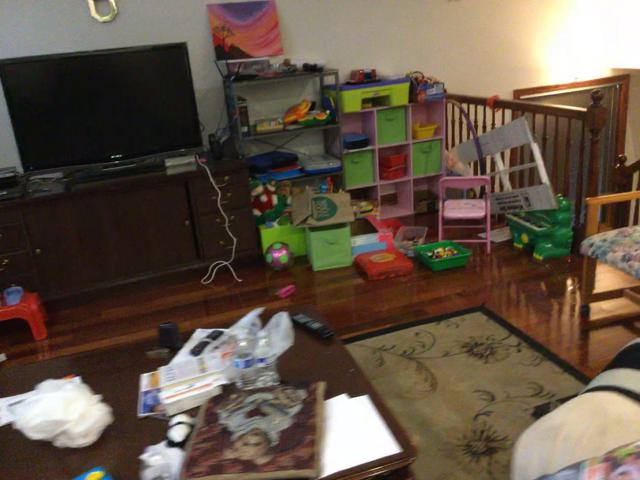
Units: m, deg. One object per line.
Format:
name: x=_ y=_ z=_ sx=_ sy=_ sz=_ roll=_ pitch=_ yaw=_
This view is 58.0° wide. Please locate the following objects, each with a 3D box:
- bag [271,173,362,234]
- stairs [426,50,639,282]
bag: x=-0.030 y=-0.250 z=3.810 sx=0.480 sy=0.240 sz=0.380 roll=-12 pitch=21 yaw=-17
stairs: x=1.720 y=-0.680 z=4.170 sx=1.150 sy=1.210 sz=1.710 roll=-12 pitch=21 yaw=-17
